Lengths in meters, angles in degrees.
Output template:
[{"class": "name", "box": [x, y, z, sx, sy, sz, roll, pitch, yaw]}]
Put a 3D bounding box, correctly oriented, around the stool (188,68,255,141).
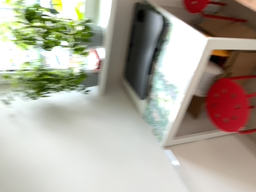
[{"class": "stool", "box": [0.740, 0.030, 1.400, 0.340, 0.490, 0.290, -122, 36, -45]}]
